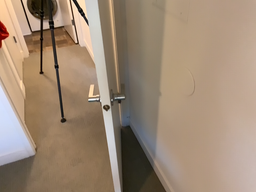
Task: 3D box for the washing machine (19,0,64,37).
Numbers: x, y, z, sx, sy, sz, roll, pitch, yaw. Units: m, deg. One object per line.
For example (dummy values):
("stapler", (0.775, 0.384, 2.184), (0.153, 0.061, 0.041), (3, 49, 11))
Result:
("washing machine", (-1.590, -1.620, 3.790), (0.570, 0.880, 0.510), (-19, 42, -19))
